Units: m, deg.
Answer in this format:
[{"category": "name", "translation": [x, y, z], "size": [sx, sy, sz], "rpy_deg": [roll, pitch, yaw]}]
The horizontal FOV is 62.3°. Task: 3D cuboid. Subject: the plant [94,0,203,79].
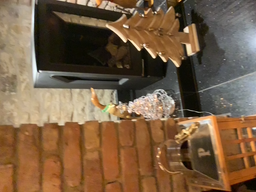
[{"category": "plant", "translation": [0.120, -0.340, 1.310], "size": [0.270, 0.560, 0.370], "rpy_deg": [-36, 58, 57]}]
